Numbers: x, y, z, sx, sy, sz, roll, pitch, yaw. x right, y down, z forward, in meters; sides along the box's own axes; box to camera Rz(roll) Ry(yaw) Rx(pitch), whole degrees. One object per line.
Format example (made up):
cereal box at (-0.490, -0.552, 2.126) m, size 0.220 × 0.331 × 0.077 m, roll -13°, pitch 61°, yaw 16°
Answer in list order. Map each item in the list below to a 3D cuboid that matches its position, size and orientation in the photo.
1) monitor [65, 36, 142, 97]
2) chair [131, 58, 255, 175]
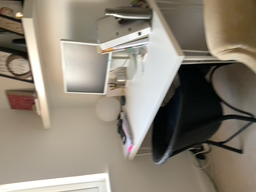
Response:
monitor at (-0.210, -0.190, 1.610) m, size 0.520 × 0.510 × 0.050 m, roll 110°, pitch 157°, yaw -48°
chair at (0.470, 0.140, 1.460) m, size 0.550 × 0.720 × 0.530 m, roll 108°, pitch 156°, yaw -49°
